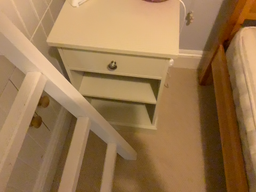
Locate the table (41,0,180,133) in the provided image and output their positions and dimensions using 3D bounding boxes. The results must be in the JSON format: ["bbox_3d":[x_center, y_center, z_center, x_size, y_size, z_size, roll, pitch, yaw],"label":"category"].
[{"bbox_3d":[-0.040,-0.160,1.080,0.450,0.680,0.420,5,58,3],"label":"table"}]
